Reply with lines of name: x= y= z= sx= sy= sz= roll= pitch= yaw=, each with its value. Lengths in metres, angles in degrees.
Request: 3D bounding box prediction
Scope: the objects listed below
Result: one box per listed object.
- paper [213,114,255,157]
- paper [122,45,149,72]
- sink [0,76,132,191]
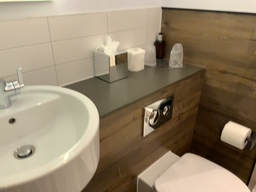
paper: x=0.560 y=0.200 z=1.110 sx=0.160 sy=0.120 sz=0.140 roll=-23 pitch=35 yaw=-39
paper: x=0.040 y=-0.210 z=1.170 sx=0.120 sy=0.110 sz=0.090 roll=-20 pitch=33 yaw=-35
sink: x=-0.310 y=0.140 z=0.630 sx=0.450 sy=0.180 sz=0.460 roll=24 pitch=35 yaw=39
